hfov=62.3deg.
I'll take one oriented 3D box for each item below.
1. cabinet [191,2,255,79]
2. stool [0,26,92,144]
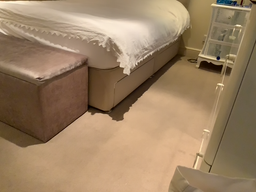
[{"bbox_3d":[1.250,-0.740,2.750,0.580,0.800,0.460,18,31,21],"label":"cabinet"},{"bbox_3d":[-0.840,-0.160,1.580,1.020,0.500,0.490,18,31,21],"label":"stool"}]
